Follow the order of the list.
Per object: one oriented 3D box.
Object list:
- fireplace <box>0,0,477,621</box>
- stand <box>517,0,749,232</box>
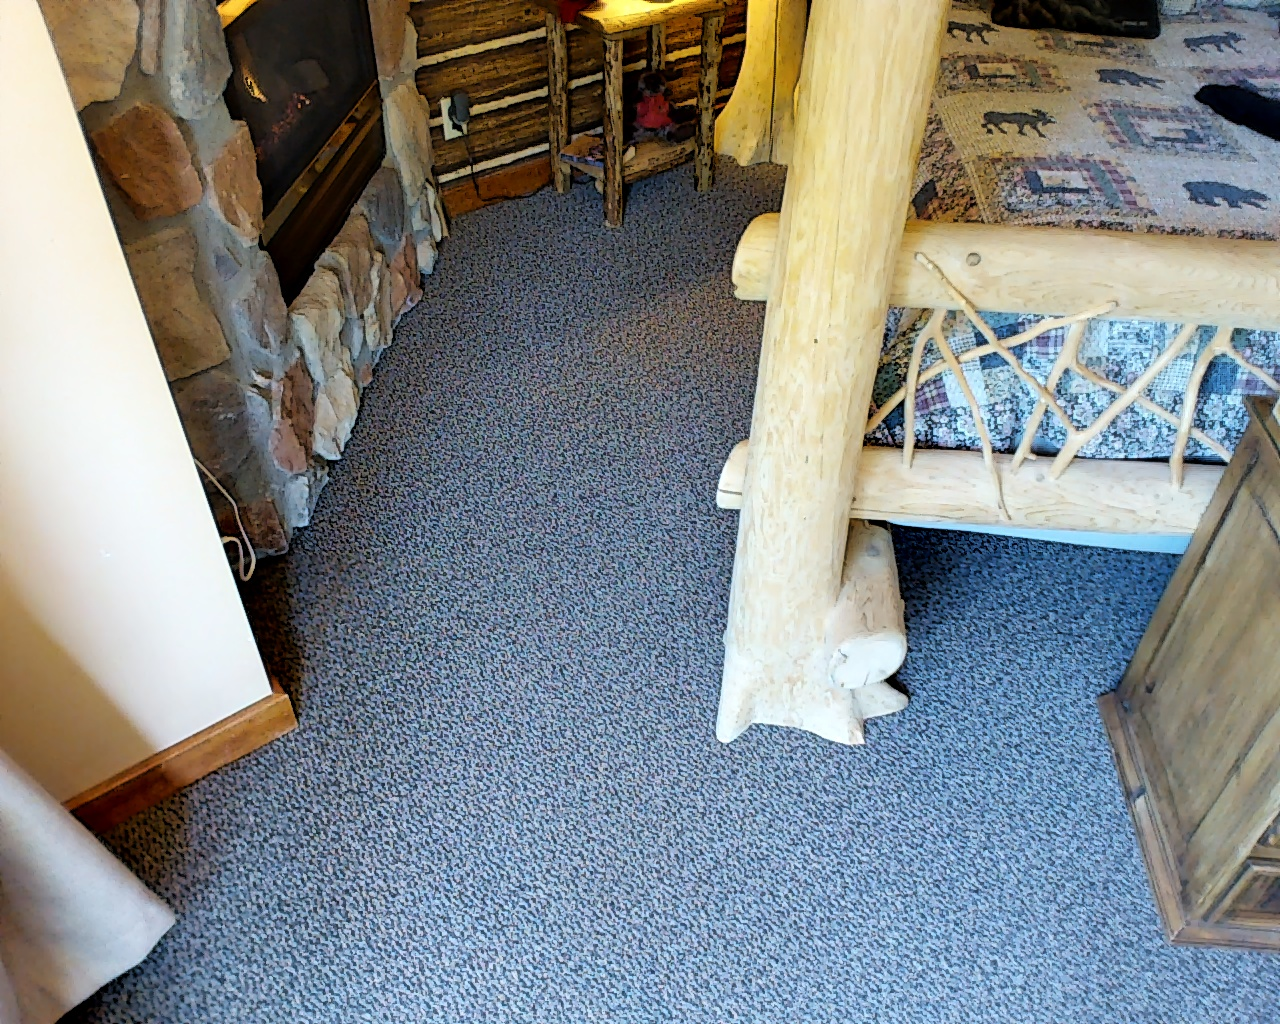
[{"bbox_3d":[-0.790,-0.840,2.200,0.440,1.430,1.520,4,43,5],"label":"fireplace"},{"bbox_3d":[-0.020,-1.300,3.320,0.540,0.610,0.410,-29,50,-28],"label":"stand"}]
